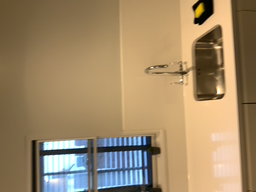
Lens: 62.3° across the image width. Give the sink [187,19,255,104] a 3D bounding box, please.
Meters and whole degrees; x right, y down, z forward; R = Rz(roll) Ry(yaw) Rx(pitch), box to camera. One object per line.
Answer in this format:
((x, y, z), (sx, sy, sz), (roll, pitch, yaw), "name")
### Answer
((0.600, -0.190, 1.410), (0.410, 0.240, 0.470), (156, 114, -80), "sink")
